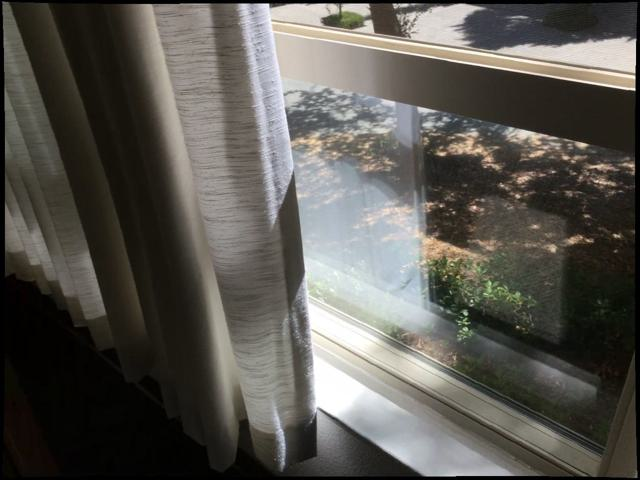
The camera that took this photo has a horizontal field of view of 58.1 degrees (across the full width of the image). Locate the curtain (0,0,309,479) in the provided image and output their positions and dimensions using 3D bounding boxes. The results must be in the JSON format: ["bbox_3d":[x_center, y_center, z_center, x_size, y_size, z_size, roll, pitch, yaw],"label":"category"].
[{"bbox_3d":[-0.519,-0.120,1.070,1.079,1.012,0.270,24,39,36],"label":"curtain"}]
